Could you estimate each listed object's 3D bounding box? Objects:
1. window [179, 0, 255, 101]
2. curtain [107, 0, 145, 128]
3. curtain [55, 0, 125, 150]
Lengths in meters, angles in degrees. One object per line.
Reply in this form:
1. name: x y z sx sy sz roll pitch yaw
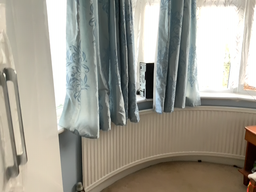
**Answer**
1. window: 1.240 -0.710 2.240 1.270 1.510 0.140 4 16 15
2. curtain: -0.010 -0.530 1.740 0.260 1.580 0.160 -13 20 -41
3. curtain: -0.240 -0.460 1.470 0.140 1.610 0.470 14 20 41
